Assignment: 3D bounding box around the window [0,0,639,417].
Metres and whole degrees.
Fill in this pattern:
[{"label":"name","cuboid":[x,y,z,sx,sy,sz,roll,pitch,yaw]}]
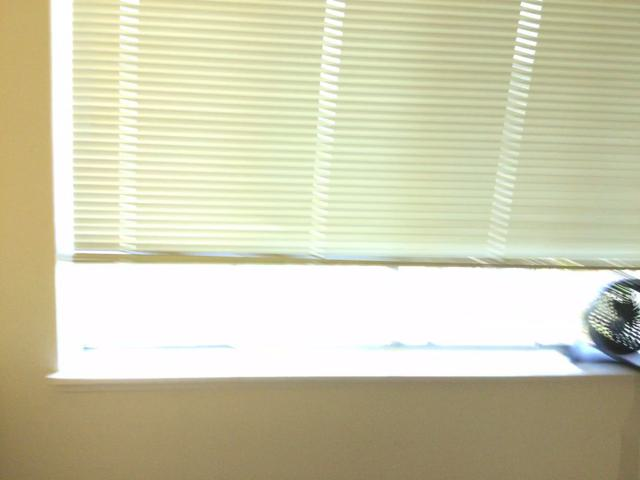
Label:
[{"label":"window","cuboid":[0.180,-0.160,1.470,1.880,1.180,0.140,-1,12,-4]}]
